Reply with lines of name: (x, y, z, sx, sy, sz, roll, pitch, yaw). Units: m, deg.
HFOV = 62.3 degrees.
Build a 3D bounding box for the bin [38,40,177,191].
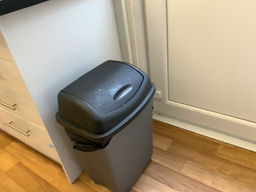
bin: (-0.020, 0.120, 1.060, 0.340, 0.590, 0.540, 14, 40, 28)
